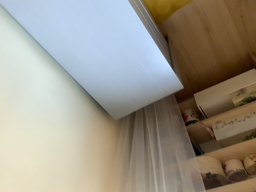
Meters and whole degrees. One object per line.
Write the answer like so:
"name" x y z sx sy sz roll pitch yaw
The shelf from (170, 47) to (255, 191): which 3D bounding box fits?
"shelf" 0.560 0.120 1.160 0.550 0.800 0.170 -27 123 23
